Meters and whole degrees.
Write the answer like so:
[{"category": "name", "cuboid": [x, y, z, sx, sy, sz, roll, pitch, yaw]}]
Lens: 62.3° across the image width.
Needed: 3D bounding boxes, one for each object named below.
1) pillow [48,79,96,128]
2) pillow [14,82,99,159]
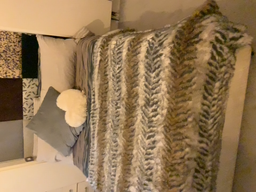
[{"category": "pillow", "cuboid": [-0.540, 0.060, 2.120, 0.160, 0.330, 0.390, -23, 13, 22]}, {"category": "pillow", "cuboid": [-0.770, 0.300, 2.320, 0.610, 0.580, 0.470, -32, 52, 20]}]
